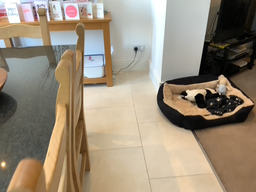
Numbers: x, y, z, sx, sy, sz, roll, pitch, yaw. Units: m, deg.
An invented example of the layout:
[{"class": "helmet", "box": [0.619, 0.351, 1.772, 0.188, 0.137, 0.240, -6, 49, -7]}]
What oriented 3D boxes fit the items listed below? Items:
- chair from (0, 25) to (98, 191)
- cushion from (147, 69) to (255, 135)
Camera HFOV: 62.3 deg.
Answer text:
[{"class": "chair", "box": [-0.460, 0.200, 1.090, 0.510, 0.980, 0.470, -3, 32, -4]}, {"class": "cushion", "box": [0.790, 0.010, 2.110, 1.040, 0.200, 0.690, -6, 32, -9]}]
